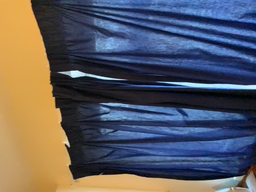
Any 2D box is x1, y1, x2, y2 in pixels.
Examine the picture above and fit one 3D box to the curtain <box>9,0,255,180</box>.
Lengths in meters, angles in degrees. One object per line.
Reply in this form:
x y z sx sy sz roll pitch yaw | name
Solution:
0.180 -0.170 0.780 0.060 1.140 1.390 -84 -3 -55 | curtain
